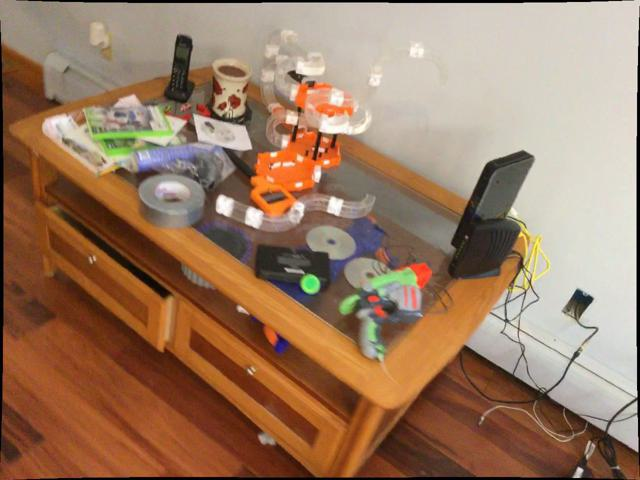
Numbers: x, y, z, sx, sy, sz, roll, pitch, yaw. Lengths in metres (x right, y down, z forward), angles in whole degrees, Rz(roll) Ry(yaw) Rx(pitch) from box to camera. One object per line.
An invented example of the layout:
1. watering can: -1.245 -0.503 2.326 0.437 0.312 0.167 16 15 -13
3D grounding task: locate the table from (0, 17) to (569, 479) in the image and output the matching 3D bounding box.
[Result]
1. table: -0.150 -0.030 1.600 1.250 0.640 0.840 30 39 20
